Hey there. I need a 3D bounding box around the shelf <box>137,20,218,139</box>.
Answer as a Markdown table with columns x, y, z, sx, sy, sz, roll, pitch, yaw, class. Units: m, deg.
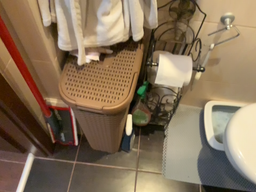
| x | y | z | sx | sy | sz | roll | pitch | yaw | class |
| --- | --- | --- | --- | --- | --- | --- | --- | --- | --- |
| 0.190 | -0.030 | 1.030 | 0.220 | 0.590 | 0.260 | 6 | 59 | 0 | shelf |
